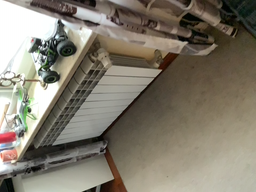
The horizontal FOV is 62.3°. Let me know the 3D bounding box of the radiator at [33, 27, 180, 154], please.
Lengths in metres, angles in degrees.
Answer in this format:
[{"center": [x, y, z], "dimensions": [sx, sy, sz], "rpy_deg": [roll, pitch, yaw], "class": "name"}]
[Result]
[{"center": [-0.180, 0.030, 1.470], "dimensions": [0.970, 0.630, 0.160], "rpy_deg": [-50, 58, 34], "class": "radiator"}]
